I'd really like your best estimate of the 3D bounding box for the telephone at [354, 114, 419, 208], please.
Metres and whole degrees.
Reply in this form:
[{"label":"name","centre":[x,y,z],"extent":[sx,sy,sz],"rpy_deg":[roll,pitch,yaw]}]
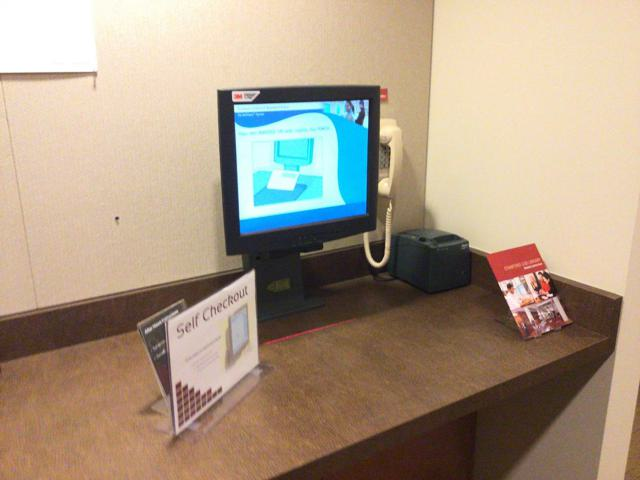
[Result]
[{"label":"telephone","centre":[0.180,-0.220,1.580],"extent":[0.120,0.240,0.120],"rpy_deg":[-11,17,-37]}]
